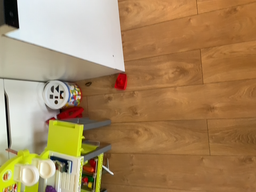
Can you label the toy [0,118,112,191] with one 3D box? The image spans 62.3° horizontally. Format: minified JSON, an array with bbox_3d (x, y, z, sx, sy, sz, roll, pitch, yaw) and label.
[{"bbox_3d":[-0.370,0.450,1.160,0.280,0.680,0.600,-2,89,22],"label":"toy"}]
